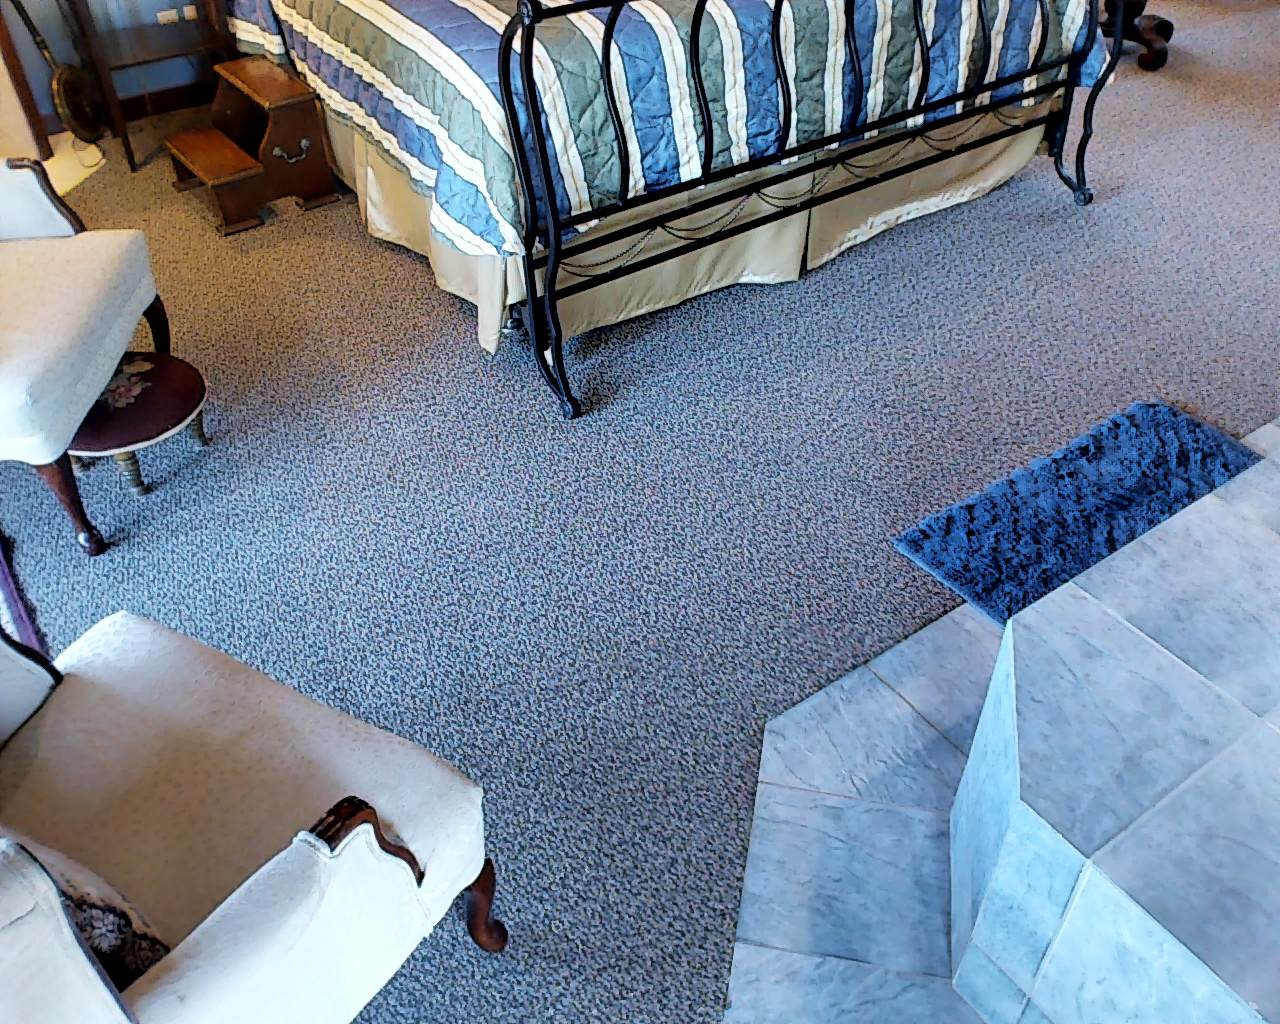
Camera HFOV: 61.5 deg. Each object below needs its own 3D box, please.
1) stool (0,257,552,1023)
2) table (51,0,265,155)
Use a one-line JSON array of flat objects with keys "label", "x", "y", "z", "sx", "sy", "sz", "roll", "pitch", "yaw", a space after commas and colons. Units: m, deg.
[{"label": "stool", "x": -0.650, "y": 0.380, "z": 1.230, "sx": 0.750, "sy": 0.980, "sz": 0.760, "roll": 18, "pitch": 45, "yaw": 20}, {"label": "table", "x": -1.690, "y": -1.670, "z": 3.710, "sx": 0.500, "sy": 0.610, "sz": 0.490, "roll": -24, "pitch": 47, "yaw": -23}]
